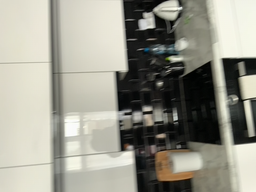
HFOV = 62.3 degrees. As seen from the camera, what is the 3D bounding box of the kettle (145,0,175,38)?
[{"bbox_3d":[0.310,-0.780,2.100,0.190,0.210,0.340,136,131,-73],"label":"kettle"}]
